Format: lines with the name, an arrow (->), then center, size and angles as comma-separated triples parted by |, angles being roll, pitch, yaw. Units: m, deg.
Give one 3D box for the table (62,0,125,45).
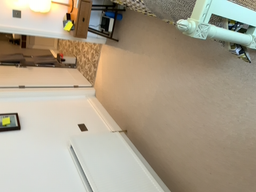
table -> -0.440, -0.950, 2.630 | 0.370, 0.600, 0.460 | 44, 128, 46
